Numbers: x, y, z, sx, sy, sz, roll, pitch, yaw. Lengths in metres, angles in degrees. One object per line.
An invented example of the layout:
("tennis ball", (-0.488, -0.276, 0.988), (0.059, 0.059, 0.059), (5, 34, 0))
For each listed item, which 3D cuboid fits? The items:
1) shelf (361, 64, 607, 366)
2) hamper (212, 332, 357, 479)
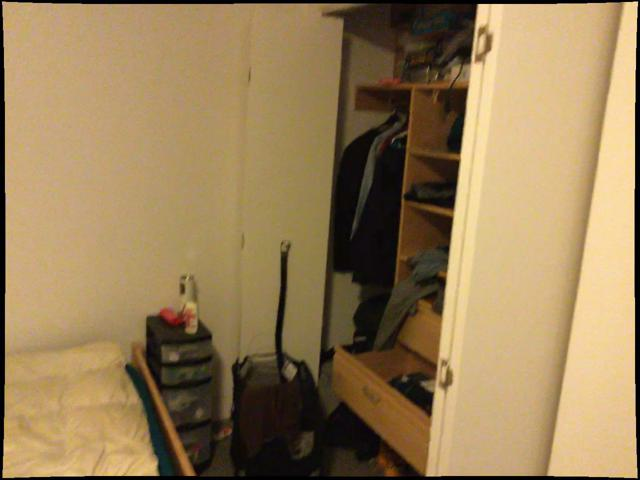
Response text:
("shelf", (0.649, -0.150, 2.510), (0.570, 1.101, 0.710), (-3, 14, -27))
("hamper", (-0.180, 0.771, 2.580), (0.470, 0.520, 0.480), (-3, 14, -27))
